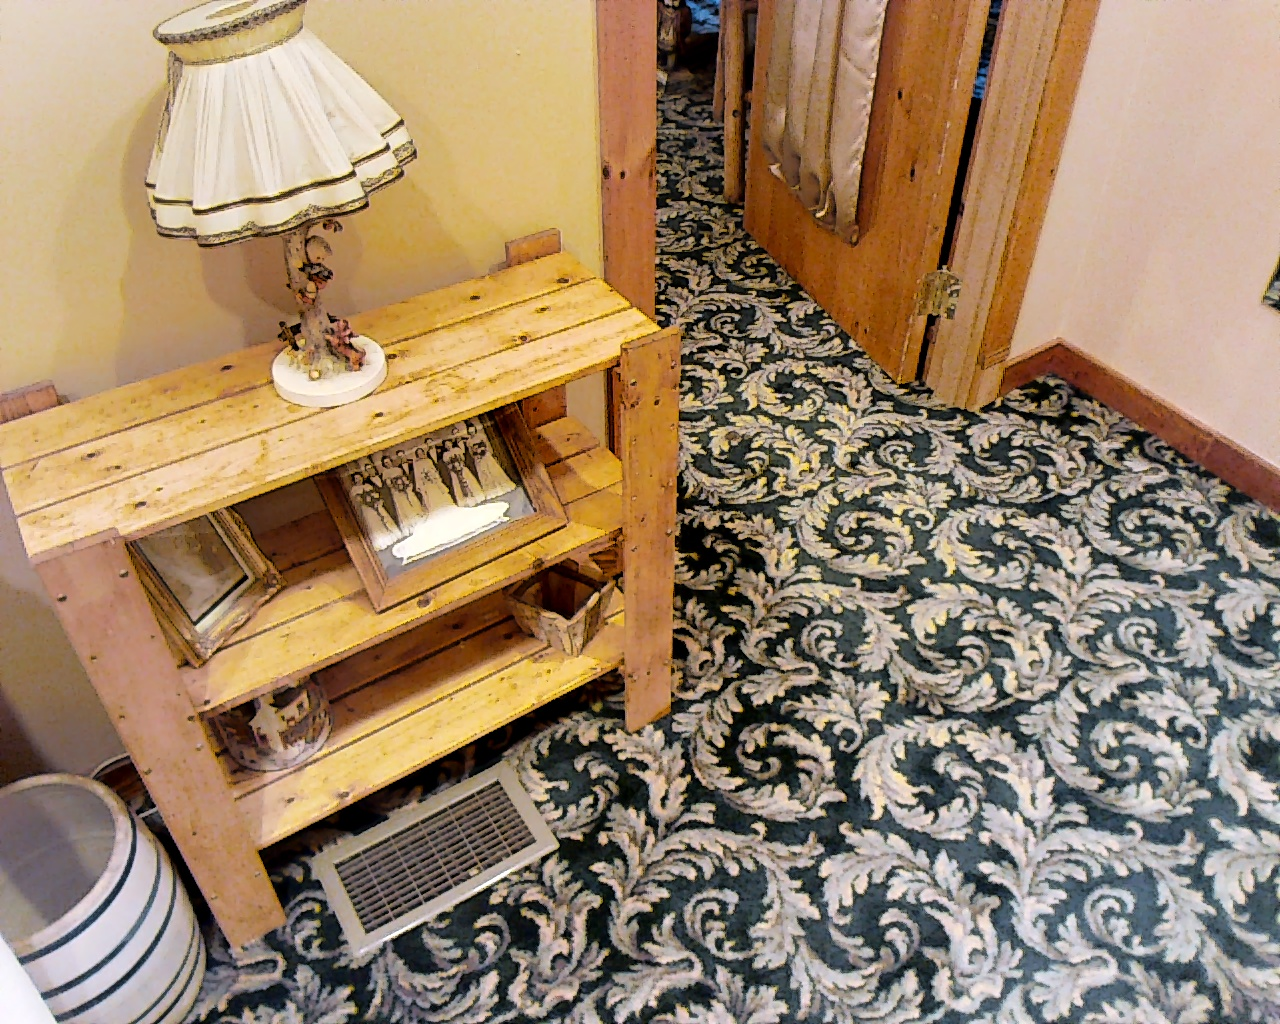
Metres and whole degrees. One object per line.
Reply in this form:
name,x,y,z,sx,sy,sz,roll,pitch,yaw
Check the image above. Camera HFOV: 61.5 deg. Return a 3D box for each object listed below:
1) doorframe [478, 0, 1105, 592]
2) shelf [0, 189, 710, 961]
doorframe,0.320,-0.950,1.760,1.190,2.220,0.250,-24,48,-24
shelf,-0.380,0.090,1.620,0.860,0.840,0.400,-23,47,-24
